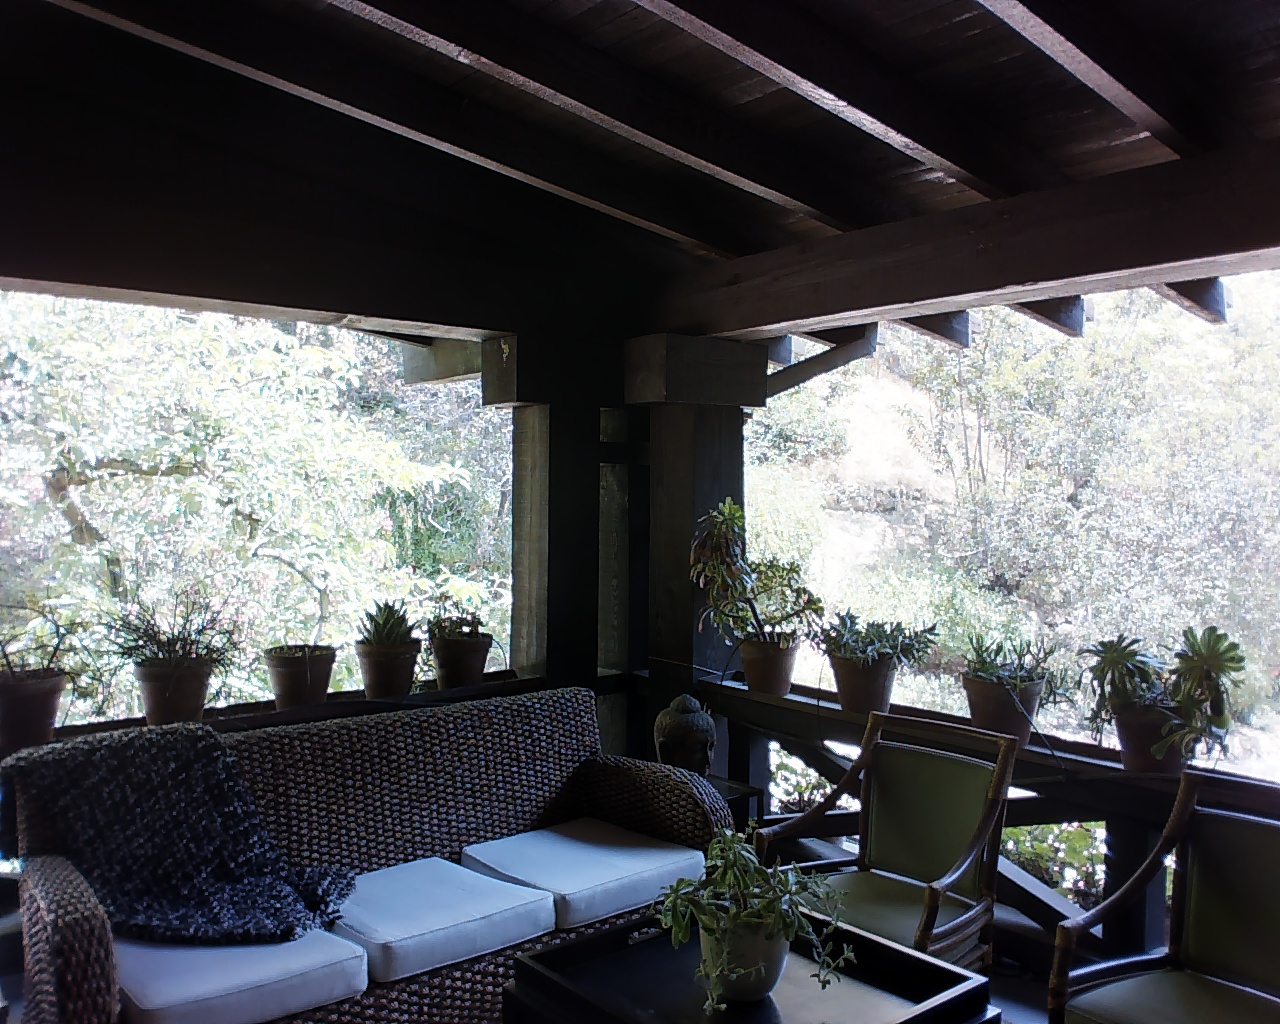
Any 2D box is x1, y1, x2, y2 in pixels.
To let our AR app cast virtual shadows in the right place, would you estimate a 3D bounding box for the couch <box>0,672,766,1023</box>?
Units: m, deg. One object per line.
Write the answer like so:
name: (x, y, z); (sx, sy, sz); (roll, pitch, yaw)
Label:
couch: (-0.690, 1.060, 3.200); (2.030, 0.870, 0.950); (1, 1, -39)
